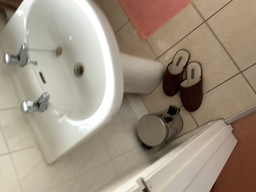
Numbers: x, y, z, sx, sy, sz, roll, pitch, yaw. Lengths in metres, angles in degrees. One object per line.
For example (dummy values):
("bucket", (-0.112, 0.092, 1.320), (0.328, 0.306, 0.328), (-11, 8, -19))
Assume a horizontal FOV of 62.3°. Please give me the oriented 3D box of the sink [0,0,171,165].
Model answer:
("sink", (-0.200, -0.130, 0.770), (0.430, 0.200, 0.580), (-36, 74, 29))
